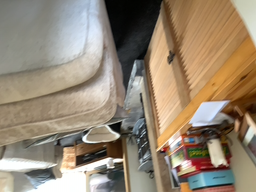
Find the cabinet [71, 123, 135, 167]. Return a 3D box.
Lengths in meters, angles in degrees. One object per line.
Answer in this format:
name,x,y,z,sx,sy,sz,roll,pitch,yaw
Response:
cabinet,-0.440,0.870,3.590,0.960,0.490,0.550,-25,147,36

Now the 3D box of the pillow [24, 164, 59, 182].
pillow,-1.320,1.200,3.290,0.380,0.200,0.360,-6,153,0

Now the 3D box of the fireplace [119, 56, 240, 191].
fireplace,0.310,0.760,2.310,0.600,1.540,1.820,1,152,-8
